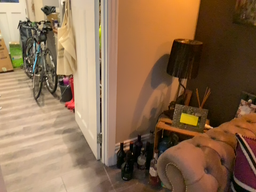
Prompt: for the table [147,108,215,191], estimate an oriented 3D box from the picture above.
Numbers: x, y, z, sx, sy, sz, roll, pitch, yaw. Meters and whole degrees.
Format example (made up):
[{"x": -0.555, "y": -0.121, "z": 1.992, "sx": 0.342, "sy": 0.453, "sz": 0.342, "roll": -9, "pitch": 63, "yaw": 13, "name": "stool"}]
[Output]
[{"x": 0.470, "y": 0.470, "z": 1.920, "sx": 0.460, "sy": 0.550, "sz": 0.320, "roll": 14, "pitch": 27, "yaw": 20, "name": "table"}]
